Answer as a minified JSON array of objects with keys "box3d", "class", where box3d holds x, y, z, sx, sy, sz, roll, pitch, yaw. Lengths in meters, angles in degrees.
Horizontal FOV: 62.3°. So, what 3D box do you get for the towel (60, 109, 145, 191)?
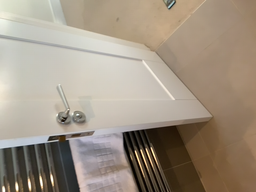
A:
[{"box3d":[-0.110,0.310,0.970,0.100,0.270,0.500,-41,61,39],"class":"towel"}]
